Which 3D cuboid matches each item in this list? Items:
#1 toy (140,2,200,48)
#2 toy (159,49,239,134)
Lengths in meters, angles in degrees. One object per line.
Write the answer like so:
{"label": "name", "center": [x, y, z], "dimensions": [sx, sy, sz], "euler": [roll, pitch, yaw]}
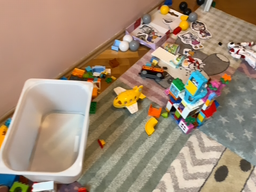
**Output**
{"label": "toy", "center": [0.330, -0.570, 1.670], "dimensions": [0.330, 0.070, 0.350], "euler": [33, 58, 17]}
{"label": "toy", "center": [0.340, -0.020, 1.060], "dimensions": [0.250, 0.270, 0.230], "euler": [28, 57, 14]}
